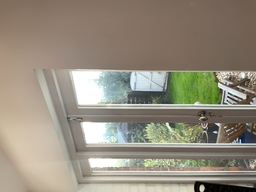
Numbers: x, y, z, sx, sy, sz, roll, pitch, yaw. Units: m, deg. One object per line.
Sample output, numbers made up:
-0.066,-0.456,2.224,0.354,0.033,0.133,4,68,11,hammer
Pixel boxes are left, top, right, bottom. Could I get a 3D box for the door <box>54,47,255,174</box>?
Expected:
0.560,0.280,1.860,0.090,2.060,1.510,-91,2,-47,door
